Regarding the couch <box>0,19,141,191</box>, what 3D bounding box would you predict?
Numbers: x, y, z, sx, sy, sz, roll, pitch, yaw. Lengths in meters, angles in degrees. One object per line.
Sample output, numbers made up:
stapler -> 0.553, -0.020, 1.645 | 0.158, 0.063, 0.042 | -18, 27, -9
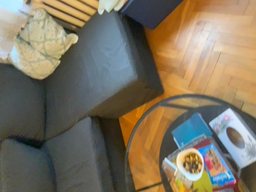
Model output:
couch -> -0.550, 0.660, 1.690 | 0.930, 0.780, 2.170 | -31, 64, 34

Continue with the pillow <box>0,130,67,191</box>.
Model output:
pillow -> -0.830, 0.660, 1.660 | 0.270, 0.460, 0.630 | -27, 89, 13

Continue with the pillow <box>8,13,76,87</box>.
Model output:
pillow -> -0.720, -0.350, 1.750 | 0.500, 0.300, 0.260 | -41, 59, 30

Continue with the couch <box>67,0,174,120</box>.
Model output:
couch -> -0.090, -0.270, 1.660 | 0.540, 0.410, 0.760 | -31, 65, 34
